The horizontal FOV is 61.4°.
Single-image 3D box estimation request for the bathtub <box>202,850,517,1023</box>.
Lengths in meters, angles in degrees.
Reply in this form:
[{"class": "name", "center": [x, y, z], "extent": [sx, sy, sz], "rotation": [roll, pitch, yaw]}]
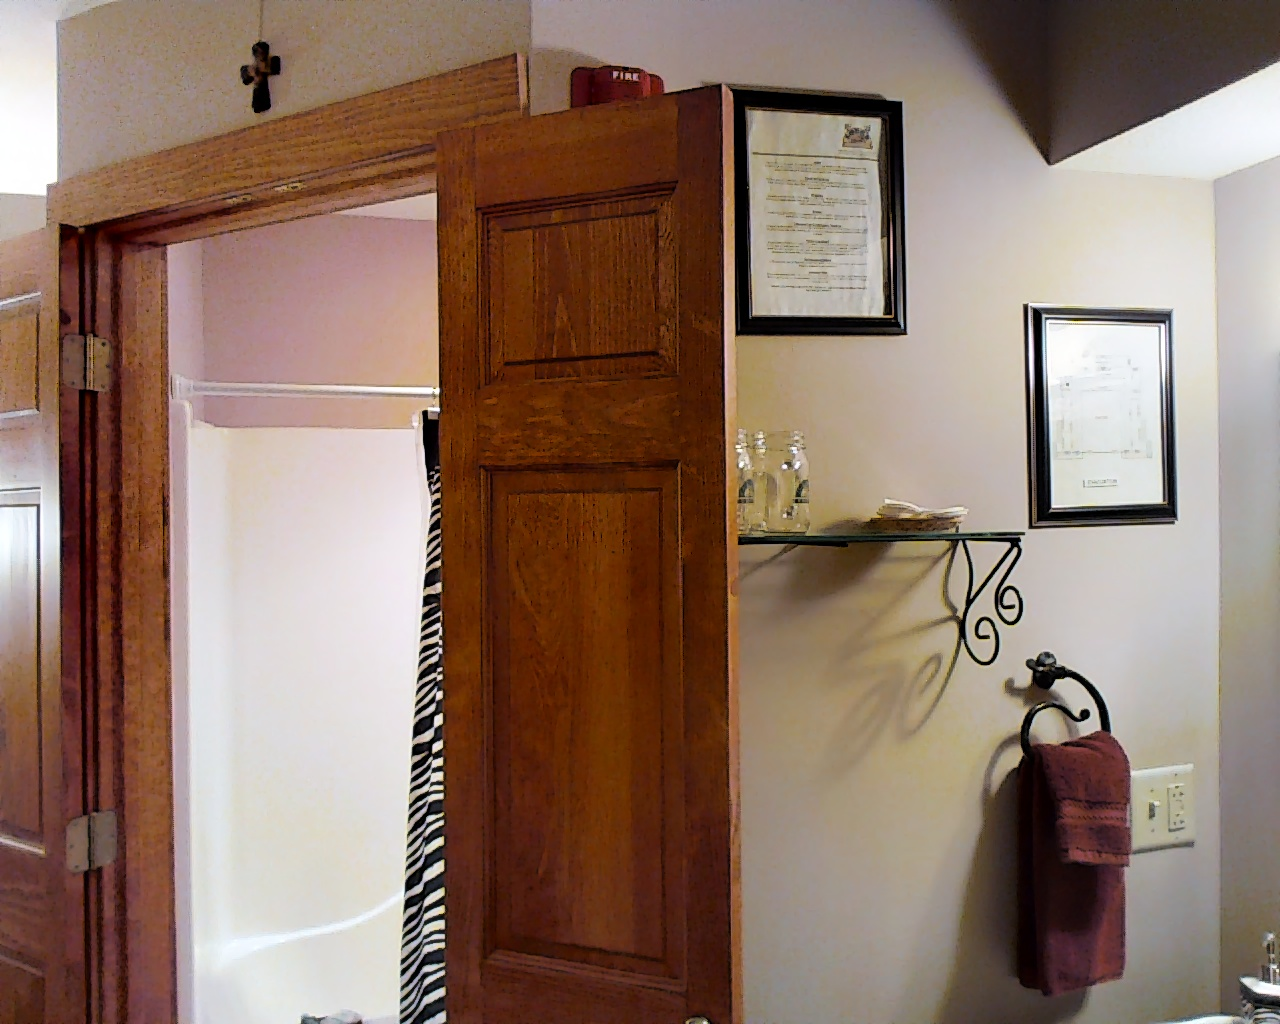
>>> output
[{"class": "bathtub", "center": [-0.740, 1.240, 2.870], "extent": [0.760, 0.490, 0.370], "rotation": [-1, -1, -18]}]
